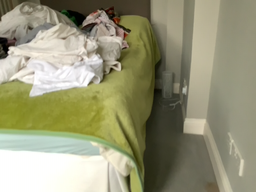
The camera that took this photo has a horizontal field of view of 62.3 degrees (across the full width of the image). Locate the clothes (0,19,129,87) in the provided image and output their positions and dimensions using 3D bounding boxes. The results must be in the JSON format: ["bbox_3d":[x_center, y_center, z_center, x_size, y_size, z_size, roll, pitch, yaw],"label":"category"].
[{"bbox_3d":[-0.350,-0.260,1.080,0.600,0.210,0.680,1,21,10],"label":"clothes"}]

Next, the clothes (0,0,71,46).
[{"bbox_3d":[-0.950,-0.630,1.840,0.710,0.310,0.470,3,22,14],"label":"clothes"}]
